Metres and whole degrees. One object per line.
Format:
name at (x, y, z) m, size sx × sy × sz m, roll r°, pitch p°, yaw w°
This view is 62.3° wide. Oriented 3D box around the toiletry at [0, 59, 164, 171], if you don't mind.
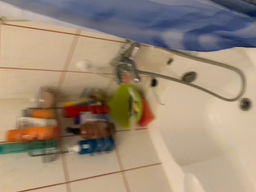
toiletry at (-0.220, 0.070, 1.030) m, size 0.170 × 0.740 × 0.410 m, roll -44°, pitch 54°, yaw 48°
